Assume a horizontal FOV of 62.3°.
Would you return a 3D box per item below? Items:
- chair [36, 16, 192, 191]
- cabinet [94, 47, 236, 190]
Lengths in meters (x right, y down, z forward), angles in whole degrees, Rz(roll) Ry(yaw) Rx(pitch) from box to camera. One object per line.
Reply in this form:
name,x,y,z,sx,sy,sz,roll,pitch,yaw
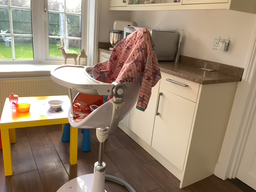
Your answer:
chair,-0.170,0.180,1.270,0.600,1.170,0.610,-4,21,-29
cabinet,0.170,0.040,2.280,0.410,0.900,1.640,-6,21,-32
